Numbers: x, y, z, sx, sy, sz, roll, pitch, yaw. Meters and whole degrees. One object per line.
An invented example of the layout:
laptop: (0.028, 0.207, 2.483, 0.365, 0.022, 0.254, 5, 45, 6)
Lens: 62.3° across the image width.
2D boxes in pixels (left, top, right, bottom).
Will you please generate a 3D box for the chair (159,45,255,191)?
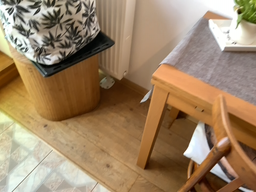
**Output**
chair: (0.420, 0.310, 0.840, 0.420, 0.770, 0.470, 28, 54, 17)
